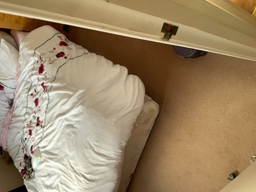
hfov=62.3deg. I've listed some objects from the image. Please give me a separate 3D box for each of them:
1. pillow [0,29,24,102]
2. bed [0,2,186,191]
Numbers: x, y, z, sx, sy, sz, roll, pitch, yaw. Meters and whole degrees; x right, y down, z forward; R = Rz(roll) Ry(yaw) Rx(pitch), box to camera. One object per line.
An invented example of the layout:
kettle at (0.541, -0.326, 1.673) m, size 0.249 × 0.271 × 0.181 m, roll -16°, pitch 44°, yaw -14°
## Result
pillow at (-1.450, -0.360, 2.450) m, size 0.500 × 0.220 × 0.690 m, roll 37°, pitch 118°, yaw 37°
bed at (-0.790, 0.210, 2.340) m, size 2.240 × 0.680 × 1.740 m, roll 38°, pitch 119°, yaw 37°
